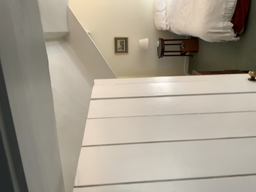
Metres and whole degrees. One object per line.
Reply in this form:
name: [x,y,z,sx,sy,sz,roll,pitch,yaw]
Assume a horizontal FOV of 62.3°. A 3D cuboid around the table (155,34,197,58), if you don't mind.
table: [0.940,-1.020,4.270,0.410,0.710,0.410,-102,10,-71]
